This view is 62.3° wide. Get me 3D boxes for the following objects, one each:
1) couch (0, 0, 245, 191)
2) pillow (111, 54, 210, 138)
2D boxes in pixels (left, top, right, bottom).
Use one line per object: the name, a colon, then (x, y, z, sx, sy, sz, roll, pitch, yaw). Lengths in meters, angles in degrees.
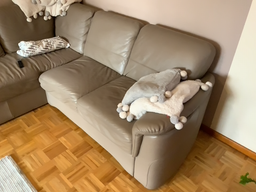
couch: (-0.380, -0.320, 2.090, 2.380, 0.870, 0.900, 30, 44, 34)
pillow: (0.230, -0.040, 1.500, 0.500, 0.240, 0.490, 22, 40, 26)
